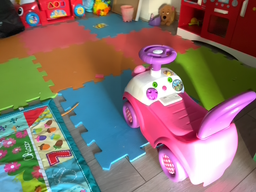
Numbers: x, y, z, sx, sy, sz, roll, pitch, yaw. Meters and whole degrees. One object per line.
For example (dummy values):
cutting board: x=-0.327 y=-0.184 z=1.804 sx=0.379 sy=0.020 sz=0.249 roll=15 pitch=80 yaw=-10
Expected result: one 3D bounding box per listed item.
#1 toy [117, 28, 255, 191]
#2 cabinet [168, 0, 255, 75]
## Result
toy: x=0.170 y=0.020 z=0.810 sx=0.210 sy=0.370 sz=0.530 roll=-17 pitch=40 yaw=-22
cabinet: x=0.740 y=-0.600 z=1.570 sx=0.340 sy=0.500 sz=0.840 roll=-21 pitch=41 yaw=-26
